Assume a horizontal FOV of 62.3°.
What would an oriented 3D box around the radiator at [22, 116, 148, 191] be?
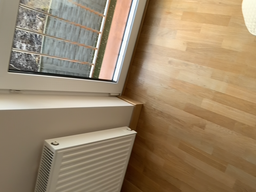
[{"bbox_3d":[-0.250,0.510,1.290,0.170,0.710,0.730,26,105,35],"label":"radiator"}]
